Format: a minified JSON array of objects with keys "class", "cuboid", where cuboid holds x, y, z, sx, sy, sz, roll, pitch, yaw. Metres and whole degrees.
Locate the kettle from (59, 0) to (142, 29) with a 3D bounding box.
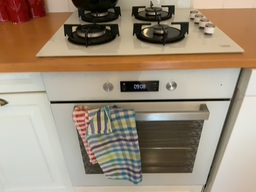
[{"class":"kettle","cuboid":[-0.100,-0.420,0.880,0.300,0.200,0.260,-1,35,0]}]
